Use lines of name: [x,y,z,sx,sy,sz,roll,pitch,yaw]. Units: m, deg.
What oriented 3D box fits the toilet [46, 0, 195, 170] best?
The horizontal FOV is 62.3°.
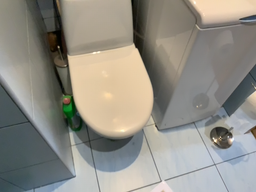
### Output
toilet: [-0.100,-0.090,1.070,0.380,0.780,0.640,-13,60,-12]
